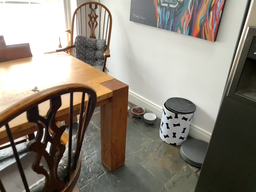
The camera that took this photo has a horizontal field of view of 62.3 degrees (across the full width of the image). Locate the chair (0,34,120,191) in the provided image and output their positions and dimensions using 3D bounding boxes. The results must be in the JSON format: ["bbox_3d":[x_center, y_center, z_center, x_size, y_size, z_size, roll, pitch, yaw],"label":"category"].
[{"bbox_3d":[-0.470,0.390,0.960,0.610,1.130,0.560,22,34,29],"label":"chair"}]
